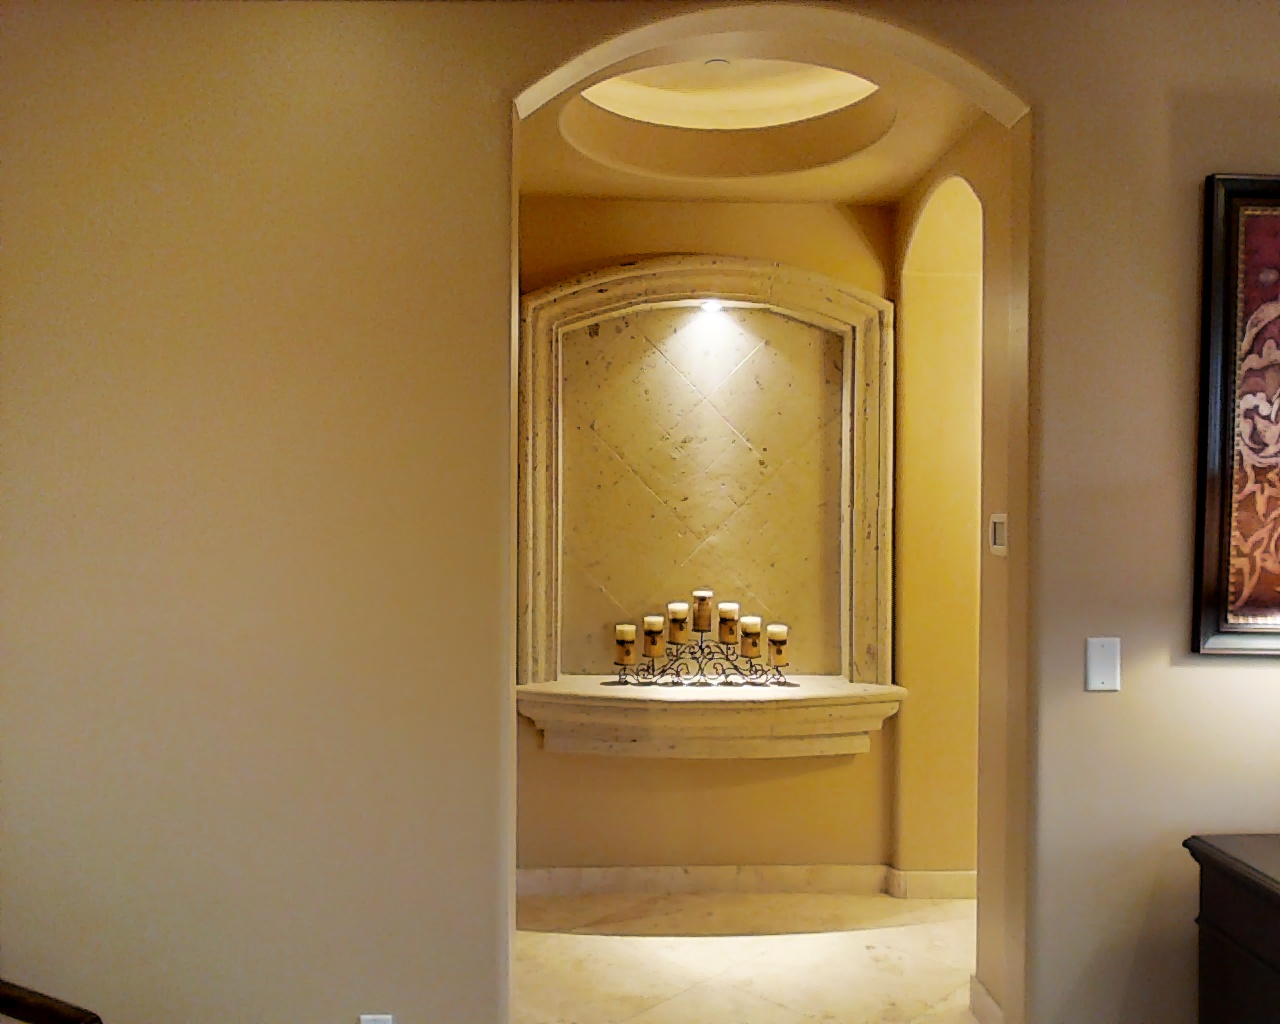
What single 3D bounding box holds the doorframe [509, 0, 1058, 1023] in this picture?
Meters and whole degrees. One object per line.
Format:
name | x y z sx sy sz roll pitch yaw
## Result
doorframe | 0.310 0.180 2.440 1.190 2.600 0.230 0 1 -2
